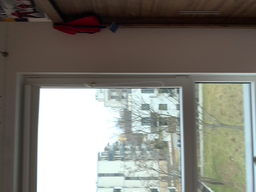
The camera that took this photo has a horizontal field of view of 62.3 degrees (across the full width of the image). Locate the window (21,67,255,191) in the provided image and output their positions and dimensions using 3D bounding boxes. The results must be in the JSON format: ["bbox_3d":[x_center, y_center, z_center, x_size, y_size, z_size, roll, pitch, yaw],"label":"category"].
[{"bbox_3d":[0.230,0.400,1.630,0.220,1.960,1.210,101,169,-84],"label":"window"}]
